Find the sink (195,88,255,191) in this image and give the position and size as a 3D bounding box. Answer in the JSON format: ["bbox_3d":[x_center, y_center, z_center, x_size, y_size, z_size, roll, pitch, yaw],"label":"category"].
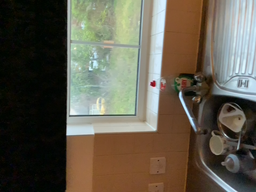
[{"bbox_3d":[0.460,0.170,0.830,0.410,0.150,0.360,-151,62,-73],"label":"sink"}]
